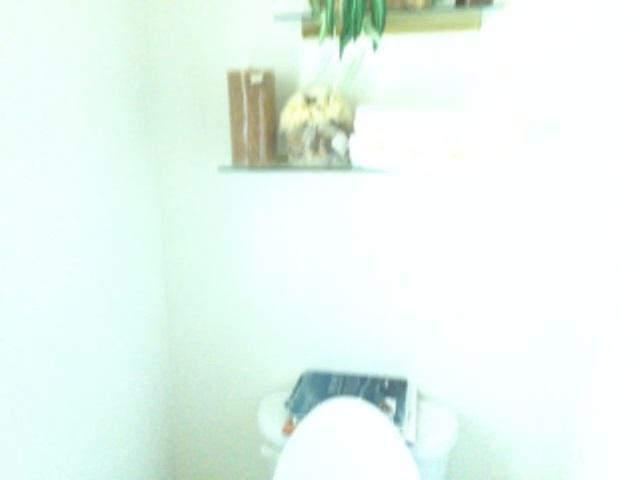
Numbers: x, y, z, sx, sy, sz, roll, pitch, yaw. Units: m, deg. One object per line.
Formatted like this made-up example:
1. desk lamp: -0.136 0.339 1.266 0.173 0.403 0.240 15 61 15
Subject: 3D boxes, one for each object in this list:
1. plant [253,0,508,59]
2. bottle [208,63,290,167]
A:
1. plant: 0.120 -0.560 1.130 0.440 0.350 0.320 0 13 10
2. bottle: -0.160 -0.290 1.350 0.140 0.220 0.150 0 13 10
